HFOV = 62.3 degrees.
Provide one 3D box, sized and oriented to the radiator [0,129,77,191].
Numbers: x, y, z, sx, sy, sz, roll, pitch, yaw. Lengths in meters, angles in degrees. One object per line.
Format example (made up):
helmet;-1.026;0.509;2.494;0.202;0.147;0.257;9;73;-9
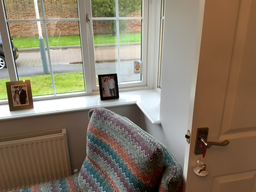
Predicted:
radiator;-0.790;0.500;1.590;0.750;0.410;0.060;-7;22;-16

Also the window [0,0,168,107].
window;-0.890;-0.410;1.580;2.520;1.010;0.090;-6;22;-15

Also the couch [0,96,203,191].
couch;-0.280;0.600;1.160;0.870;0.840;0.850;-13;25;-32
